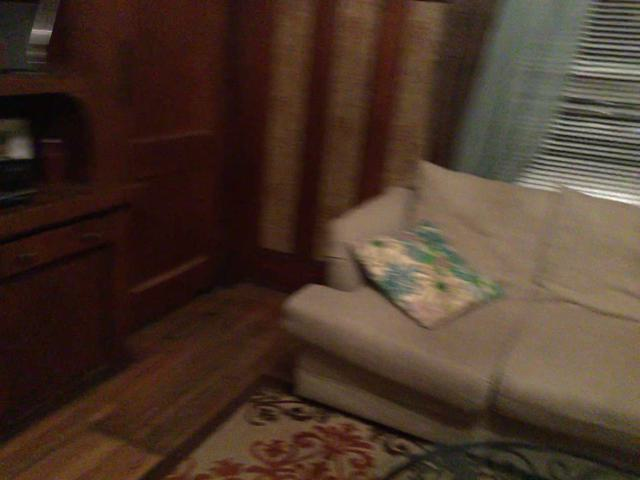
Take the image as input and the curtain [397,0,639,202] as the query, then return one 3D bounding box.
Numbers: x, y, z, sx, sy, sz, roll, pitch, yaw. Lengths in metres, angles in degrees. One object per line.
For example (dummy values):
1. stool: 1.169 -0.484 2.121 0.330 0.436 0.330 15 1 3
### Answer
1. curtain: 1.210 -0.780 2.020 1.800 1.270 0.240 12 18 28
